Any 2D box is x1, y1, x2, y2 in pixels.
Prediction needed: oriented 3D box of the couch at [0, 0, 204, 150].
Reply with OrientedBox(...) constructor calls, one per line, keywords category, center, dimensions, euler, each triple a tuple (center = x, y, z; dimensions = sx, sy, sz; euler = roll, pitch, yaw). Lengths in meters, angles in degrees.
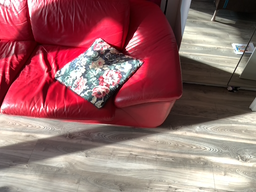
OrientedBox(category="couch", center=(-0.820, -0.510, 1.750), dimensions=(2.470, 0.820, 1.310), euler=(7, 48, 3))
